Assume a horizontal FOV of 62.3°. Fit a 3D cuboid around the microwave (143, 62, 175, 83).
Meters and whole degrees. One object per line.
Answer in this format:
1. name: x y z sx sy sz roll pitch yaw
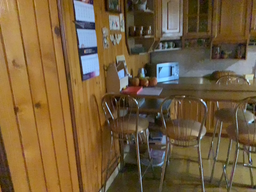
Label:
1. microwave: 0.550 -0.420 3.660 0.480 0.270 0.550 2 16 16
